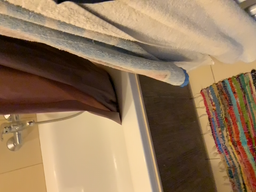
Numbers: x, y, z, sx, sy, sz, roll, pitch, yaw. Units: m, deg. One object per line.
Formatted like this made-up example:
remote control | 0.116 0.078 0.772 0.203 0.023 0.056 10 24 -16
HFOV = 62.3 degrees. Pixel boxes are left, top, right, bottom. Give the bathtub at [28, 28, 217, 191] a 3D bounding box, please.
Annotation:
bathtub | 0.010 0.500 1.090 0.670 0.570 1.370 -19 78 37
